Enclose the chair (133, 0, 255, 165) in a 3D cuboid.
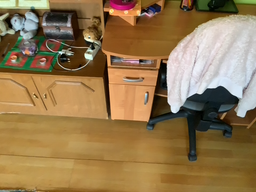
[{"bbox_3d":[0.390,-0.110,1.260,0.610,0.990,0.580,7,50,4],"label":"chair"}]
